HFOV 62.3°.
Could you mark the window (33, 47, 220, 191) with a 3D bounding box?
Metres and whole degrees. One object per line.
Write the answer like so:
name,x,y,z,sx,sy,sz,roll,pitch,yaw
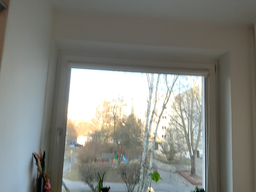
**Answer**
window,0.030,0.340,1.880,1.540,1.440,0.170,3,-8,-5
